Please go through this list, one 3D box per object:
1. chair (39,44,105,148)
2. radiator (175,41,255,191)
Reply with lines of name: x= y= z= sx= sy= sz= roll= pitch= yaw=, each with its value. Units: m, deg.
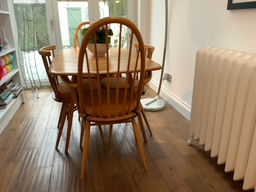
chair: x=-0.460 y=-0.030 z=1.860 sx=0.430 sy=0.770 sz=0.450 roll=-5 pitch=20 yaw=-13
radiator: x=0.660 y=0.110 z=1.380 sx=0.240 sy=0.820 sz=1.020 roll=-5 pitch=20 yaw=-12
